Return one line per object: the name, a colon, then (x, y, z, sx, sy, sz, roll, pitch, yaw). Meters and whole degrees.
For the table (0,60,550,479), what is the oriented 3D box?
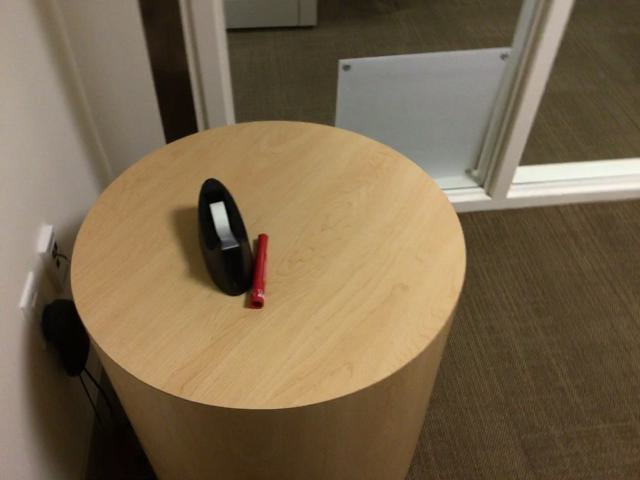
table: (-0.080, 0.160, 1.080, 0.610, 0.680, 0.620, -7, 47, -4)
